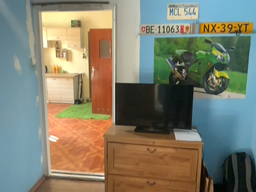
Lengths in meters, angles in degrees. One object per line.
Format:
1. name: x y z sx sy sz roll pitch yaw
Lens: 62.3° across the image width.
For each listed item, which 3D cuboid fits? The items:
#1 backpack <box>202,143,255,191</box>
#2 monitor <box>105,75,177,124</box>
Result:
1. backpack: 1.010 0.790 2.180 0.360 0.510 0.300 2 12 5
2. monitor: 0.110 0.030 2.030 0.670 0.440 0.050 3 12 8
